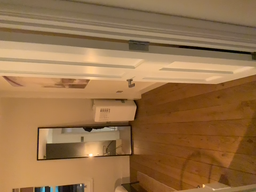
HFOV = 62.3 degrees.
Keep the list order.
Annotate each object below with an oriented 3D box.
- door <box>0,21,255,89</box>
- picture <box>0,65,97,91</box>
[{"bbox_3d":[0.080,-0.160,1.320,0.860,1.970,0.030,153,116,-70],"label":"door"},{"bbox_3d":[-0.920,-0.180,2.510,0.920,0.950,0.040,152,117,-69],"label":"picture"}]
